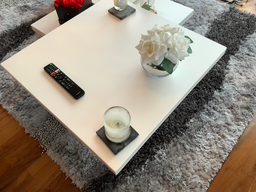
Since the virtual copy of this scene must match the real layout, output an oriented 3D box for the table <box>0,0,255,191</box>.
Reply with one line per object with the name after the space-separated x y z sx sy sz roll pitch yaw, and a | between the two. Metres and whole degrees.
-0.110 -0.430 1.310 0.980 0.290 1.790 -4 55 -1 | table
